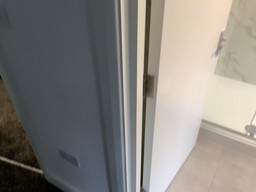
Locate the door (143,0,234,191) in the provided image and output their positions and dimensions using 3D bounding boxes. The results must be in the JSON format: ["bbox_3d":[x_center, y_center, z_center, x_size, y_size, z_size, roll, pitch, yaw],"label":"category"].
[{"bbox_3d":[0.330,-0.210,1.030,0.050,1.980,0.780,24,44,29],"label":"door"}]
